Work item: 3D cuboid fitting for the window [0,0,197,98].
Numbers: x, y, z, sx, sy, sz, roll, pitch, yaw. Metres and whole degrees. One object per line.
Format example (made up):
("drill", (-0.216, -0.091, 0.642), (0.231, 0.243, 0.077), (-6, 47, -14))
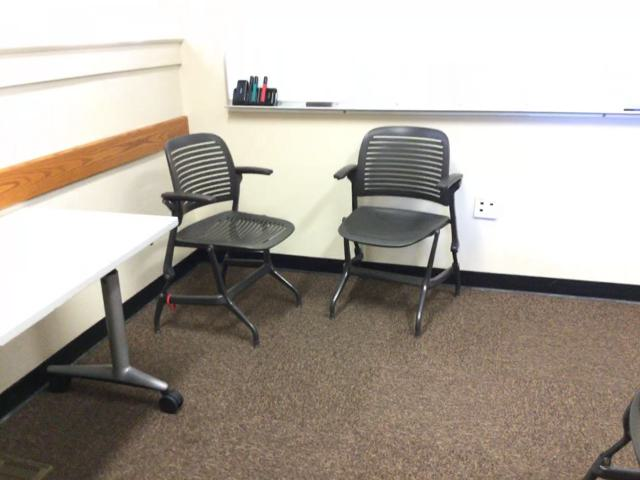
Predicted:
("window", (-1.120, -0.660, 1.950), (0.200, 0.350, 2.420), (0, 18, 18))

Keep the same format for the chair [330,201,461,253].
("chair", (0.370, -0.070, 2.690), (0.520, 0.090, 0.500), (0, 18, 18))

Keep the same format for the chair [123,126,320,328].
("chair", (-0.420, -0.100, 2.670), (0.540, 0.750, 0.590), (5, 21, 31))

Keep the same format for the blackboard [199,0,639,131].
("blackboard", (0.560, -1.170, 2.500), (2.350, 1.240, 0.170), (0, 18, 18))
